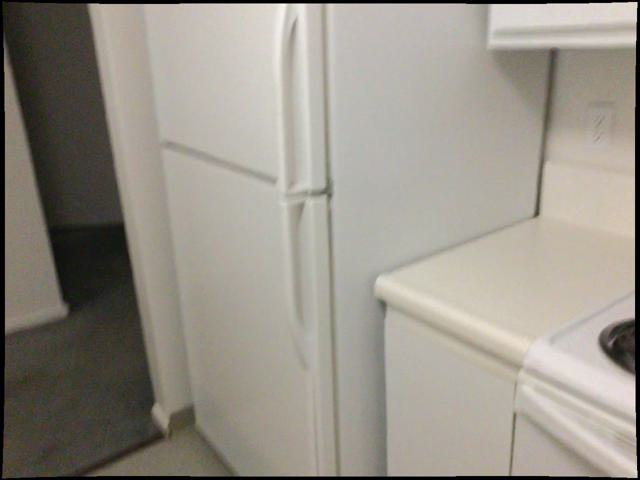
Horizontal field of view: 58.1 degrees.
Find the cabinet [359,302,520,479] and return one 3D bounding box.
[{"bbox_3d":[0.259,0.561,1.320,0.060,0.782,0.380,-19,25,-33],"label":"cabinet"}]
